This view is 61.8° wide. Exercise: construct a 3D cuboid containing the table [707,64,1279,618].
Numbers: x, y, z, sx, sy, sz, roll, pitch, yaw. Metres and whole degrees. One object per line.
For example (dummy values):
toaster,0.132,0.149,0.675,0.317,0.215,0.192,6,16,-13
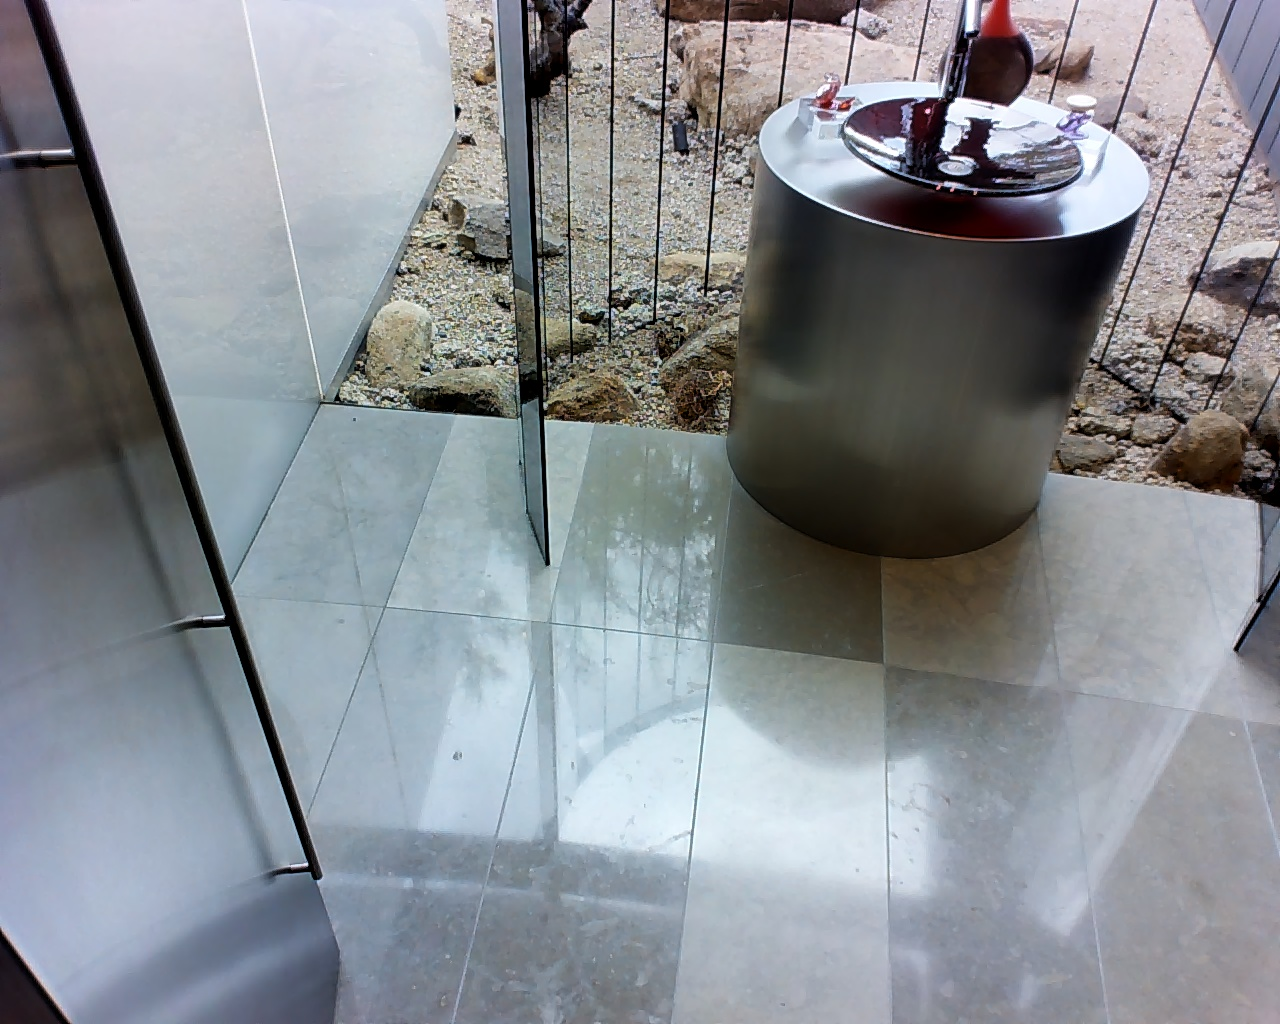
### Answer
table,0.670,-0.340,2.250,0.930,0.920,0.460,10,44,9
